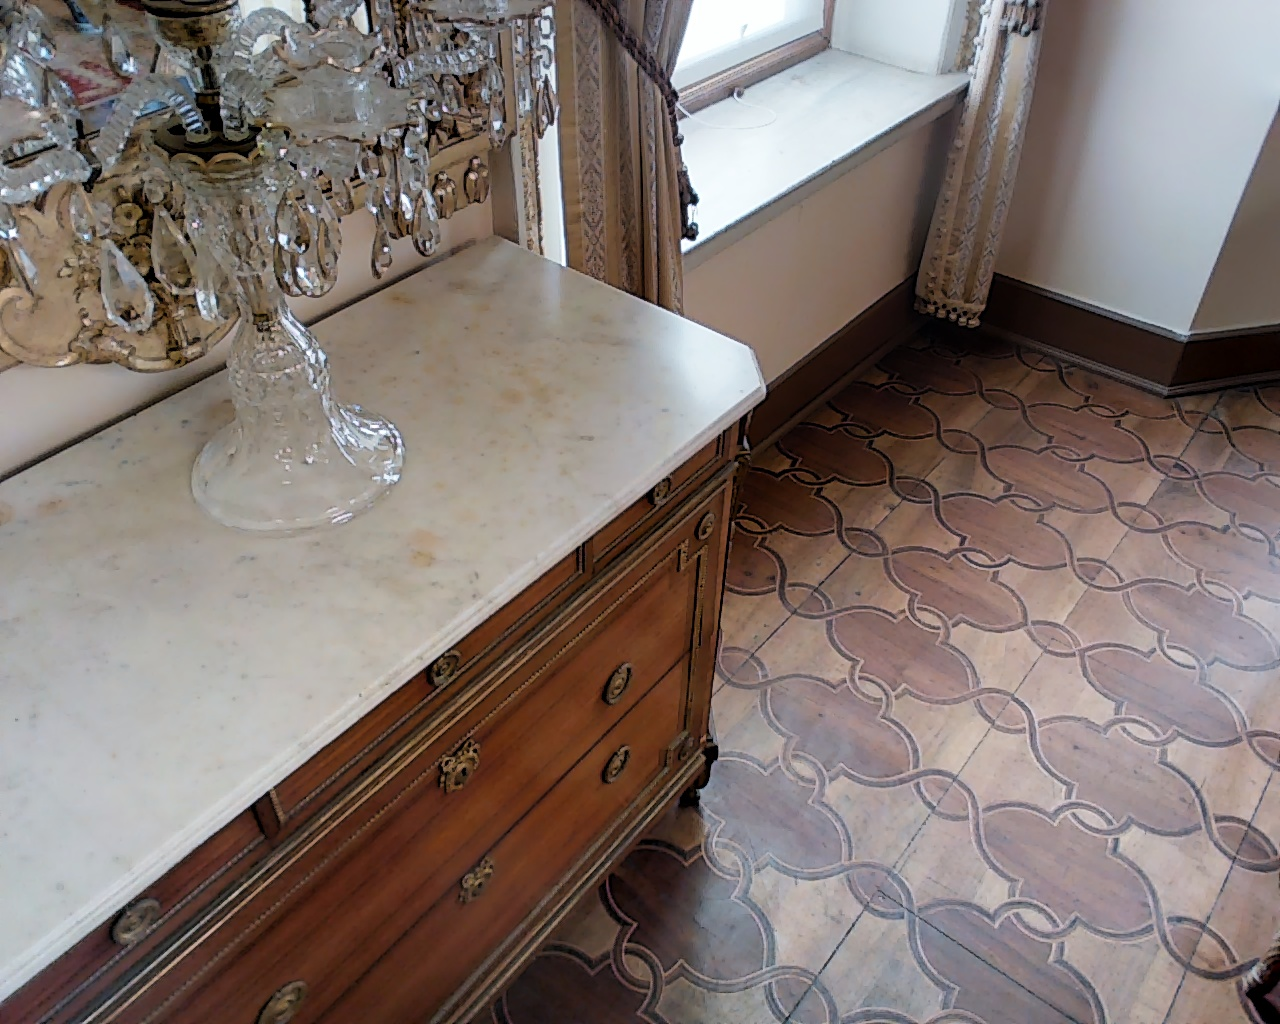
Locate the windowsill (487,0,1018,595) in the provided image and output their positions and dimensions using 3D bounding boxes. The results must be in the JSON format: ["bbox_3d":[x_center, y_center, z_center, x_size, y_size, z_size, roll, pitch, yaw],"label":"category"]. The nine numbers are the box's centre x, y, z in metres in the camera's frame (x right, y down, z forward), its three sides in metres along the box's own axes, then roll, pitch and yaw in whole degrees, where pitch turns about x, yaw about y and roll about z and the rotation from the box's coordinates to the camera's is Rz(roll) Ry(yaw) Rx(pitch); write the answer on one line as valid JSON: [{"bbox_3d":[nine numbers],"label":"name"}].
[{"bbox_3d":[0.330,-1.120,2.170,0.370,2.330,1.400,29,48,29],"label":"windowsill"}]
